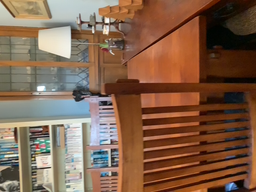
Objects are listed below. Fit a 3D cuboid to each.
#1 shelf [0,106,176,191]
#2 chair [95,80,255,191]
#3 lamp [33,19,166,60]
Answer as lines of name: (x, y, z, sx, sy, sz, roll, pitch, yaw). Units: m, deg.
shelf: (-0.570, 1.180, 2.500, 0.410, 2.280, 2.020, -175, 83, -76)
chair: (0.420, 0.160, 0.930, 0.520, 1.060, 0.430, -178, 86, -76)
lamp: (-0.310, -0.650, 2.570, 0.380, 1.490, 0.340, 177, 91, -76)
